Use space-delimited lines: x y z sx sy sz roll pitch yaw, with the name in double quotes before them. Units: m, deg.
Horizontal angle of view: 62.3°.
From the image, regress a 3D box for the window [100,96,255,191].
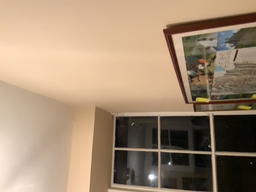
"window" 0.680 0.390 1.760 0.050 1.940 0.750 33 -124 -68
